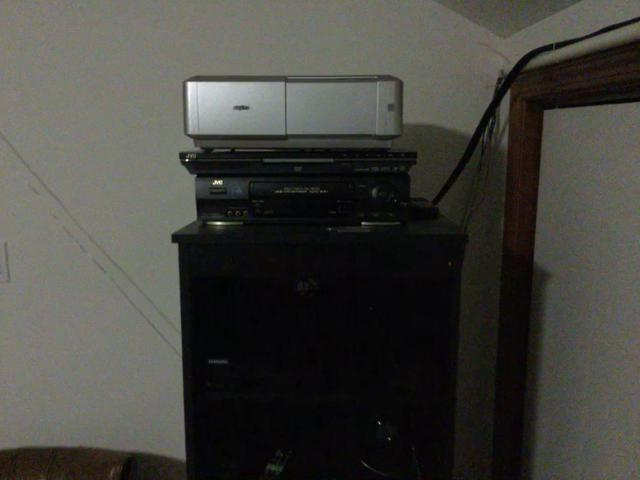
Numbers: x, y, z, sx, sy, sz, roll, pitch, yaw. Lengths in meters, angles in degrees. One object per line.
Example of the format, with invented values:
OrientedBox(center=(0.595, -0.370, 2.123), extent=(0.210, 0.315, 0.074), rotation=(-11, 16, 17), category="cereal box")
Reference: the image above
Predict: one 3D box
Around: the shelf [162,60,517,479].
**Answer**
OrientedBox(center=(0.000, 0.320, 1.220), extent=(0.550, 1.250, 0.490), rotation=(2, 8, -3), category="shelf")
